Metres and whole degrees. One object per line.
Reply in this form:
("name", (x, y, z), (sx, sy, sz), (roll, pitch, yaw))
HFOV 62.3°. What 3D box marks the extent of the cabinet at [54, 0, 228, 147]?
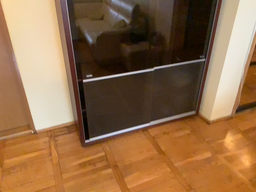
("cabinet", (0.130, -0.330, 2.060), (1.400, 1.320, 0.450), (-12, 33, -20))
